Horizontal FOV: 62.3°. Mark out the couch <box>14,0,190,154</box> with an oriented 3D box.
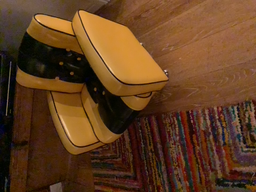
[{"bbox_3d":[-0.150,-0.100,0.980,0.520,0.500,0.440,-46,61,37],"label":"couch"}]
